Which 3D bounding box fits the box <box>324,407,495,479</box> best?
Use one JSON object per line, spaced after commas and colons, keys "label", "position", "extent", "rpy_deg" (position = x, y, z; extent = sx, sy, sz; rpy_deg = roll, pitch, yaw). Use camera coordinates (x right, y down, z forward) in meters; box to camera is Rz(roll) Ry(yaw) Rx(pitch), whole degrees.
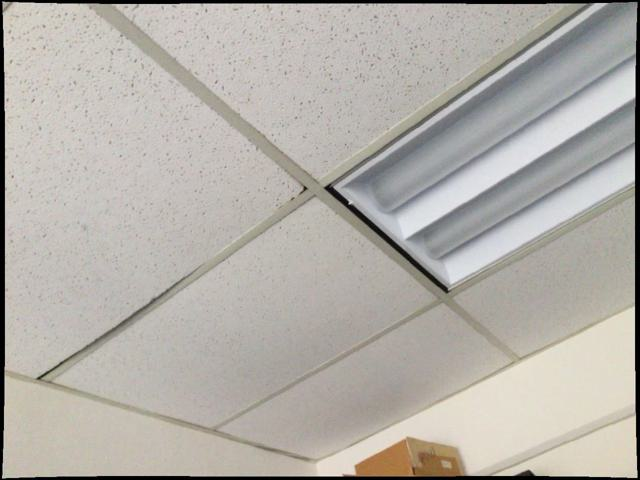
{"label": "box", "position": [0.329, 0.862, 1.870], "extent": [0.420, 0.400, 0.370], "rpy_deg": [-33, -43, 18]}
